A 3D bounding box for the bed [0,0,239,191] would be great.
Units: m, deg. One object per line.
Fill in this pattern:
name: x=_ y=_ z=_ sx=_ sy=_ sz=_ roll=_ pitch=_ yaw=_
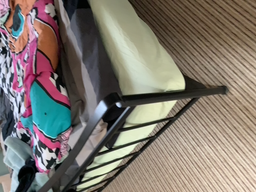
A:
bed: x=-0.710 y=-0.240 z=1.750 sx=2.190 sy=0.490 sz=1.860 roll=54 pitch=128 yaw=26
